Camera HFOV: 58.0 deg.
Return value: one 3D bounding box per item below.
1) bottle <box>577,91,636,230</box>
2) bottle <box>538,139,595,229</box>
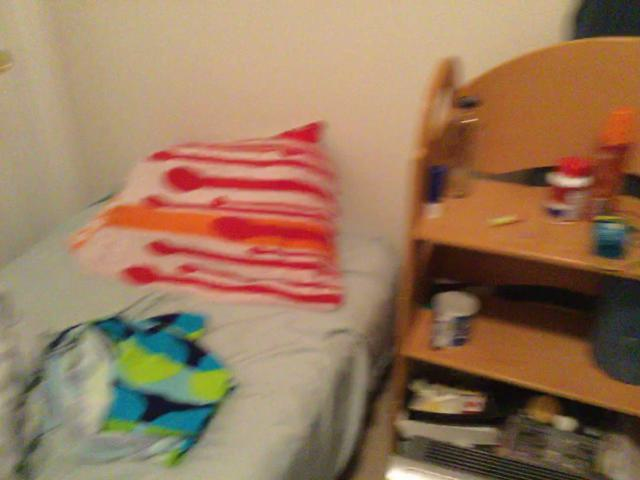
[{"bbox_3d":[0.530,-0.150,1.070,0.060,0.210,0.150,10,32,25],"label":"bottle"},{"bbox_3d":[0.470,-0.110,1.100,0.070,0.110,0.160,10,32,25],"label":"bottle"}]
